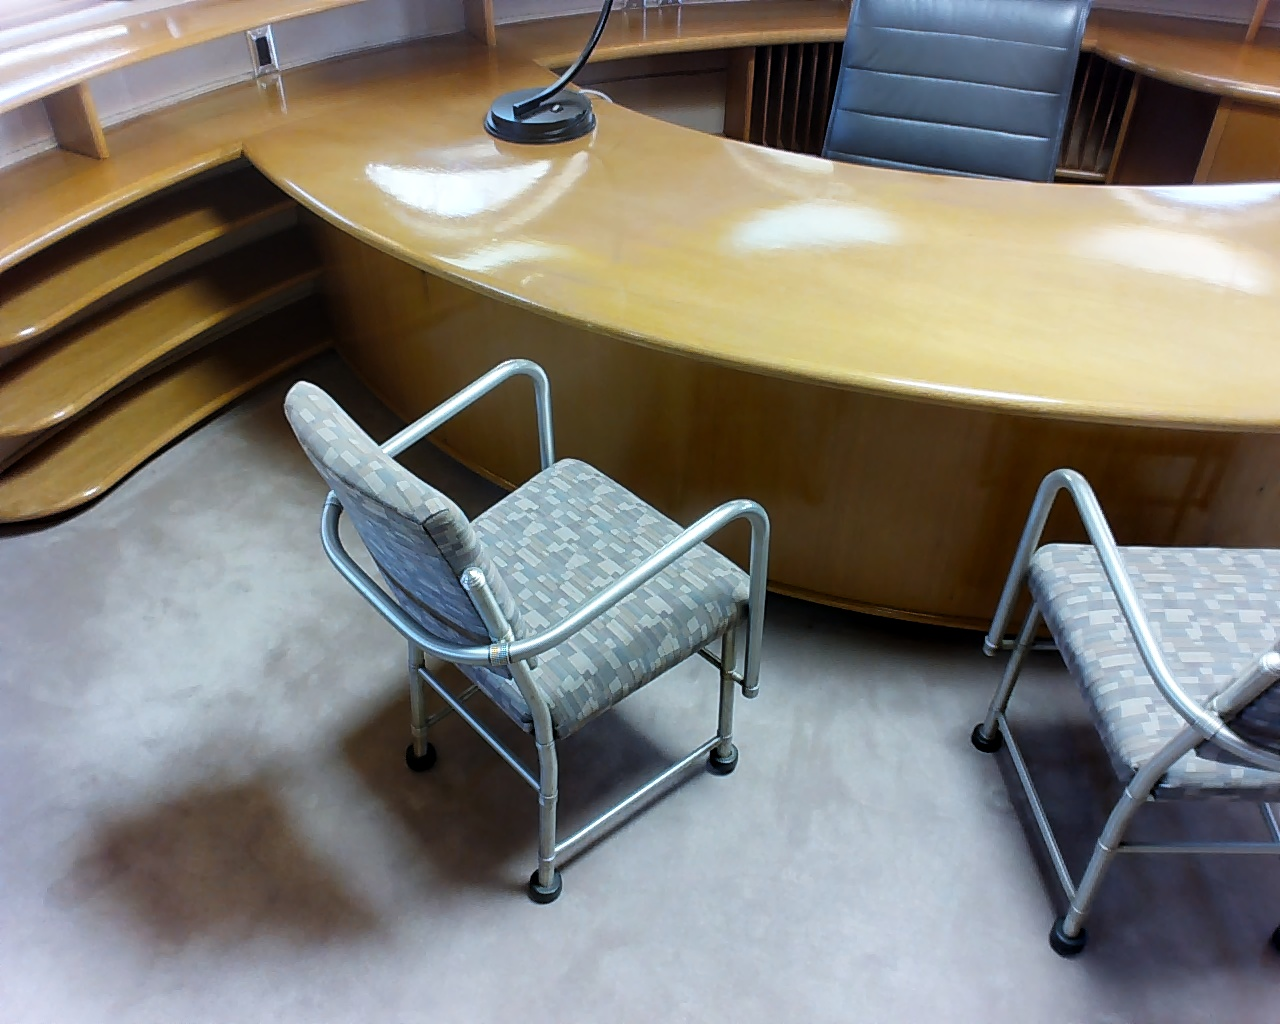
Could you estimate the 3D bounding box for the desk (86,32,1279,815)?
[{"bbox_3d":[0.450,-0.350,2.350,2.749,0.710,1.270,14,42,16],"label":"desk"}]
